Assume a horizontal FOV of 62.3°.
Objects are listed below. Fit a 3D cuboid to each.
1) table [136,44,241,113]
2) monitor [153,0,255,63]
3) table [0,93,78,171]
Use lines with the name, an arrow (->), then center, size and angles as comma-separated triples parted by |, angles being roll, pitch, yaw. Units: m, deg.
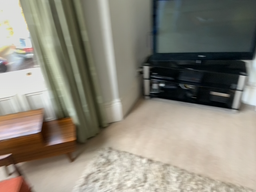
table -> 0.710, -0.250, 2.590 | 1.100, 0.520, 0.480 | 11, 37, 21
monitor -> 0.750, -0.640, 2.110 | 0.980, 0.630, 0.070 | 3, 34, 10
table -> -0.870, 0.320, 1.900 | 0.740, 0.460, 0.340 | -10, 34, -9
